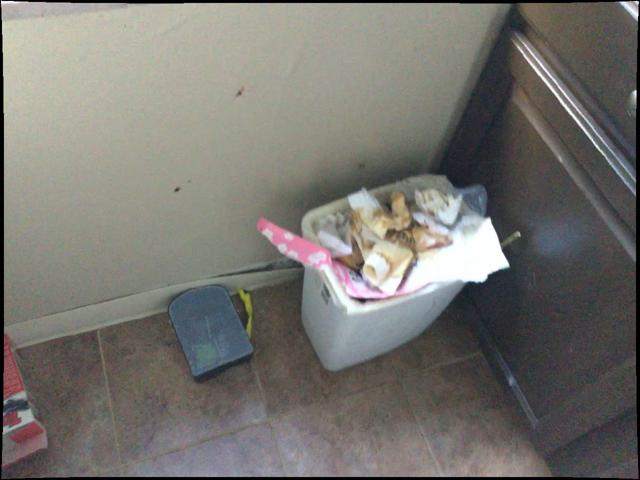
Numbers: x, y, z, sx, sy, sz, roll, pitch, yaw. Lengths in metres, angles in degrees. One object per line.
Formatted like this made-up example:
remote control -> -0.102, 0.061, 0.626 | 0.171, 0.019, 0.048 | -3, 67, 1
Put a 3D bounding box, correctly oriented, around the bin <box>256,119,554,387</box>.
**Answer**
bin -> 0.130, 0.040, 1.180 | 0.439, 0.420, 0.270 | -16, 63, -17
